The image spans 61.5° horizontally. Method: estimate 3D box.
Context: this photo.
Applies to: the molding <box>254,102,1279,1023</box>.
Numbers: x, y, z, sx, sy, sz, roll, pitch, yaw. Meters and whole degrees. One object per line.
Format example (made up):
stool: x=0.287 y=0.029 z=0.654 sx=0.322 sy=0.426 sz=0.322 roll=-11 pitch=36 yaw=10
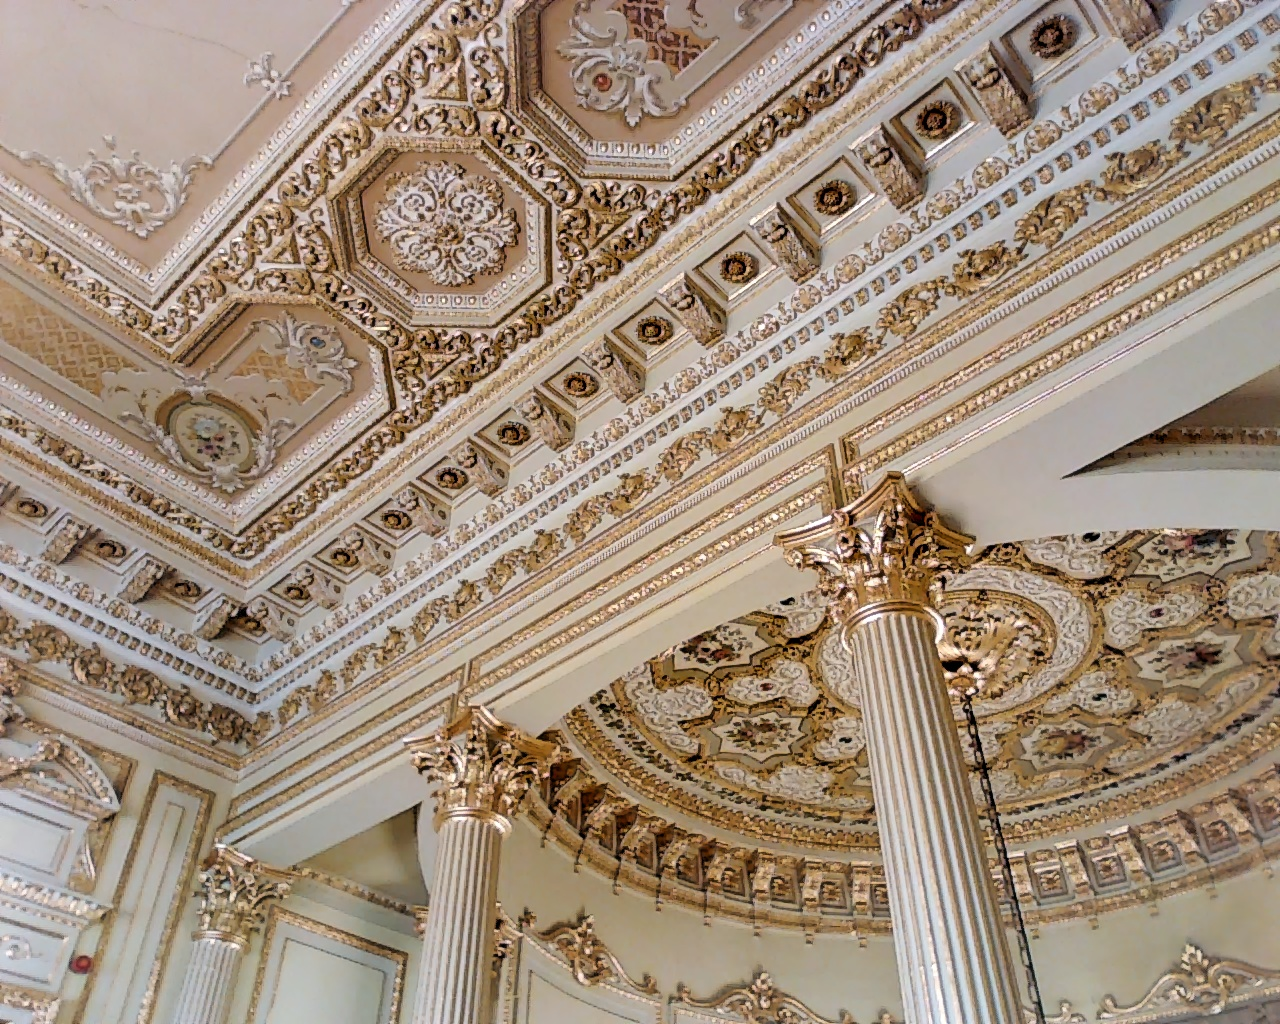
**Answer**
molding: x=2.098 y=1.811 z=6.750 sx=6.848 sy=1.431 sz=5.659 roll=-32 pitch=-52 yaw=31
